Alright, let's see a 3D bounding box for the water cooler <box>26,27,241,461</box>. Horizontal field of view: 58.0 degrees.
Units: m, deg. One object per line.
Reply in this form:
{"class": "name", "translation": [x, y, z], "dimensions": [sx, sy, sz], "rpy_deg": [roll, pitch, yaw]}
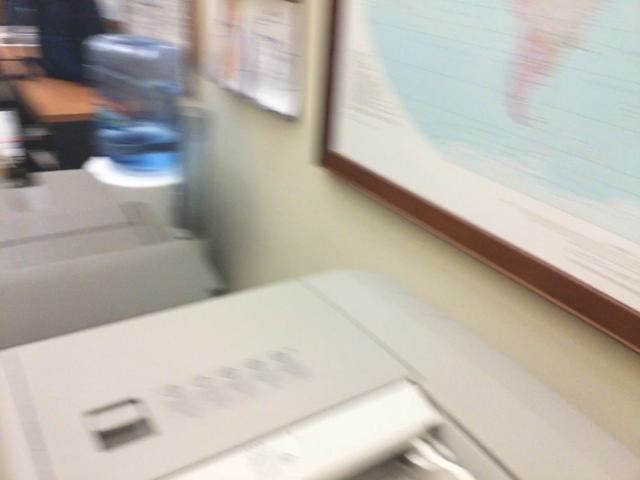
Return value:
{"class": "water cooler", "translation": [-0.580, 0.040, 1.940], "dimensions": [0.450, 1.350, 0.420], "rpy_deg": [-16, 36, -33]}
